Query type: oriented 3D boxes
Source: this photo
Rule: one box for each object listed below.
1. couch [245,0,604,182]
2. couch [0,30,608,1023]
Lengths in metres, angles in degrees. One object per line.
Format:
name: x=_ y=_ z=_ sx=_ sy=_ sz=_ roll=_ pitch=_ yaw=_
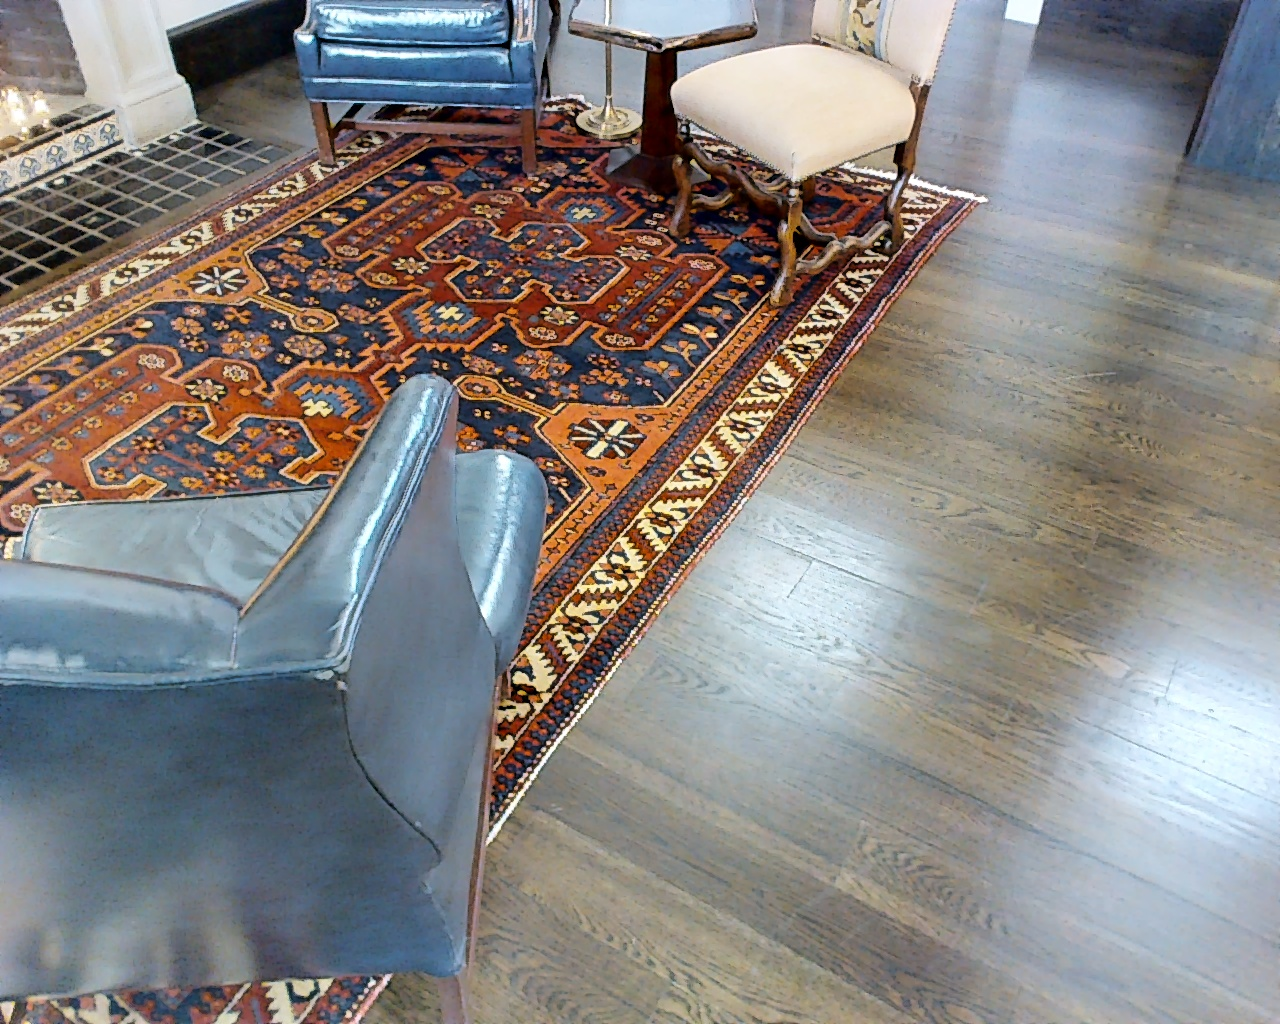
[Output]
couch: x=-0.640 y=-1.780 z=3.410 sx=0.950 sy=1.090 sz=0.900 roll=3 pitch=42 yaw=3
couch: x=-0.540 y=0.190 z=1.220 sx=0.950 sy=1.110 sz=0.890 roll=-3 pitch=42 yaw=-4
